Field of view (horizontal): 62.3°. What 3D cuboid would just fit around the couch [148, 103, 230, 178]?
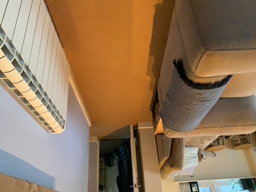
[{"bbox_3d":[0.880,0.800,3.530,0.900,0.870,1.190,-4,152,-1],"label":"couch"}]

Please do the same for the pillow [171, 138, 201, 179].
[{"bbox_3d":[1.000,1.070,3.680,0.420,0.520,0.260,-12,-162,-22],"label":"pillow"}]

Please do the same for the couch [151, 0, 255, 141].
[{"bbox_3d":[0.790,-0.220,1.760,0.980,0.740,1.390,-4,152,-1],"label":"couch"}]

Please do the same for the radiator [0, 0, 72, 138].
[{"bbox_3d":[-0.530,-0.320,1.130,0.120,0.700,1.350,-3,152,-2],"label":"radiator"}]
